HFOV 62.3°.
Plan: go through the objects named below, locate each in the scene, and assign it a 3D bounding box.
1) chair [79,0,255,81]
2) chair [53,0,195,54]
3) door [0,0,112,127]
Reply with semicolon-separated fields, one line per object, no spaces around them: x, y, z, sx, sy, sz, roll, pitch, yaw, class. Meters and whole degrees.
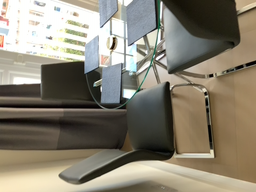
0.330;-0.400;1.140;0.550;1.020;0.440;-15;75;54;chair
0.010;-0.720;1.630;0.440;1.010;0.540;-6;82;55;chair
-1.160;-0.750;2.520;0.120;2.190;2.200;-10;78;54;door
